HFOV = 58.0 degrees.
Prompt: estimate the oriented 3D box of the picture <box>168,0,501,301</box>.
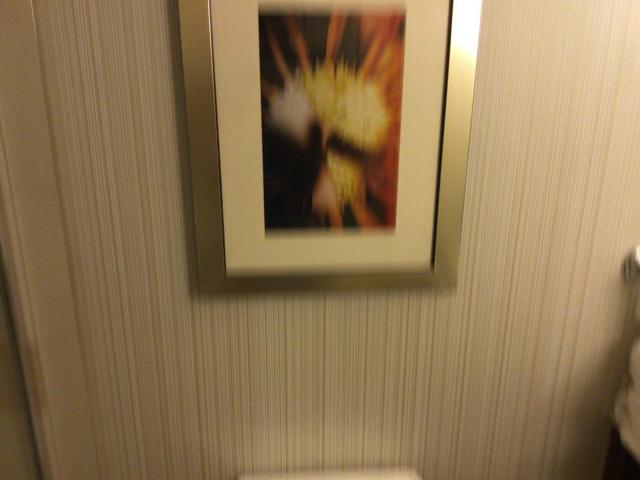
[{"bbox_3d":[0.020,-0.220,0.990,0.520,0.680,0.070,0,20,-4],"label":"picture"}]
